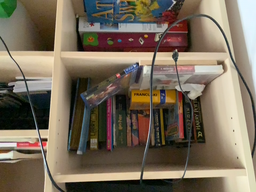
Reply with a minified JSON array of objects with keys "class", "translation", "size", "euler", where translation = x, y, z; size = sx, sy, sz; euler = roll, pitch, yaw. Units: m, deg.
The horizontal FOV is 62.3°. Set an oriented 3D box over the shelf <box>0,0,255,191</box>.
[{"class":"shelf","translation":[-0.170,-0.070,0.750],"size":[0.950,1.080,0.510],"euler":[0,164,-4]}]
